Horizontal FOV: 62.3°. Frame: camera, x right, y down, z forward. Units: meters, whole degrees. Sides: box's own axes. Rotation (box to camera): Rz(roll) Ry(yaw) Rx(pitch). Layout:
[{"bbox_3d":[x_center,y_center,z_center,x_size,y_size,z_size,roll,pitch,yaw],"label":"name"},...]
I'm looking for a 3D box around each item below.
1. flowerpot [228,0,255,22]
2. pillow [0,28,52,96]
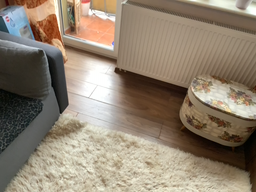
[{"bbox_3d":[0.830,-0.690,1.460,0.140,0.300,0.090,17,43,8],"label":"flowerpot"},{"bbox_3d":[-0.790,-0.250,1.320,0.580,0.270,0.170,21,44,12],"label":"pillow"}]
